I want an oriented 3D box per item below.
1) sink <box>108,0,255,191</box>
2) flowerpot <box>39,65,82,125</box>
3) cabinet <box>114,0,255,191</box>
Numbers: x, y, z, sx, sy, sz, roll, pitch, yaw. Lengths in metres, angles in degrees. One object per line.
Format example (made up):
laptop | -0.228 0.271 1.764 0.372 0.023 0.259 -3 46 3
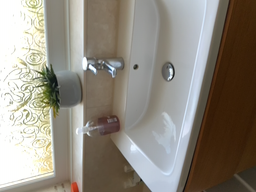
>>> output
sink | 0.110 -0.050 0.700 0.450 0.130 0.760 39 129 52
flowerpot | -0.290 -0.010 0.910 0.150 0.140 0.200 43 132 50
cabinet | 0.300 -0.080 0.800 0.440 0.510 0.740 39 129 52
